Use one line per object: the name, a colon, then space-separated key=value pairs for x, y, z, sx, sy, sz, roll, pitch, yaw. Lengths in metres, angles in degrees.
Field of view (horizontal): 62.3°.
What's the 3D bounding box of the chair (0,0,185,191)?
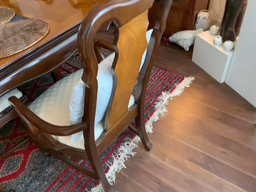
chair: x=-0.190 y=-0.020 z=1.050 sx=0.660 sy=1.010 sz=0.540 roll=23 pitch=52 yaw=25
